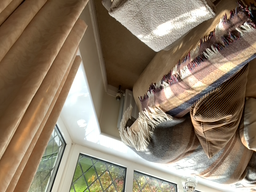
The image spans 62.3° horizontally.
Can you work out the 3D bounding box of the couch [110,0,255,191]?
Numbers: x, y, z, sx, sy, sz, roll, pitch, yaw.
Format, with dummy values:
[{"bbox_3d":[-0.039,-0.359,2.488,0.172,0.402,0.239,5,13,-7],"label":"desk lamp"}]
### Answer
[{"bbox_3d":[0.900,0.120,1.420,1.690,0.850,0.960,23,135,-18],"label":"couch"}]
